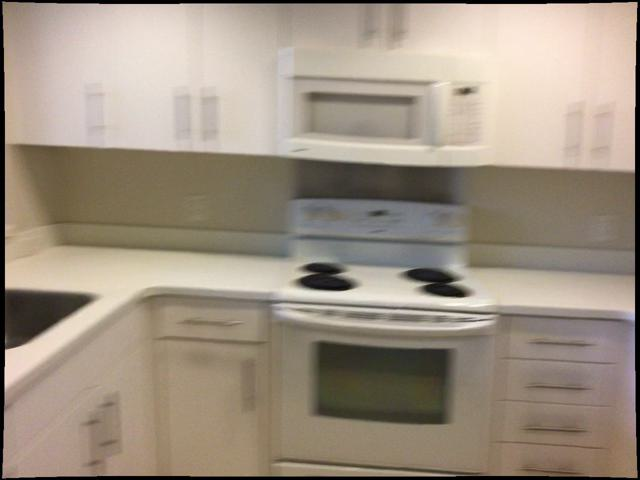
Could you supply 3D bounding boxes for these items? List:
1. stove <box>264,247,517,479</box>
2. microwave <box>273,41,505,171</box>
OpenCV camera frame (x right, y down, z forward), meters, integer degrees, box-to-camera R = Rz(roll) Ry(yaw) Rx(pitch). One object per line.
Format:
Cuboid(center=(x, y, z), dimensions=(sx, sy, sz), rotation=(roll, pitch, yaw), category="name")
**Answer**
Cuboid(center=(0.239, 0.582, 2.370), dimensions=(0.838, 0.952, 0.720), rotation=(2, 11, 2), category="stove")
Cuboid(center=(0.249, -0.511, 2.220), dimensions=(0.838, 0.451, 0.160), rotation=(2, 11, 2), category="microwave")
